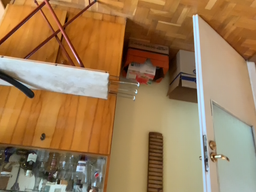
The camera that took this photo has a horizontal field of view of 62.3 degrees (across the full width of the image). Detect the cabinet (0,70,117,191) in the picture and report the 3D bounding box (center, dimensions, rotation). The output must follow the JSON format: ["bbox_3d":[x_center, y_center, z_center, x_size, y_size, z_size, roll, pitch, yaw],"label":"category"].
[{"bbox_3d":[-0.620,0.670,1.340,0.890,1.530,0.500,9,154,-8],"label":"cabinet"}]

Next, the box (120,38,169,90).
[{"bbox_3d":[0.150,-0.300,2.050,0.400,0.320,0.320,8,154,-6],"label":"box"}]

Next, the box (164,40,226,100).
[{"bbox_3d":[0.650,-0.250,2.130,0.500,0.440,0.280,10,154,-10],"label":"box"}]

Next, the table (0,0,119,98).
[{"bbox_3d":[-0.480,-0.460,1.270,0.800,0.790,0.270,9,154,-8],"label":"table"}]
